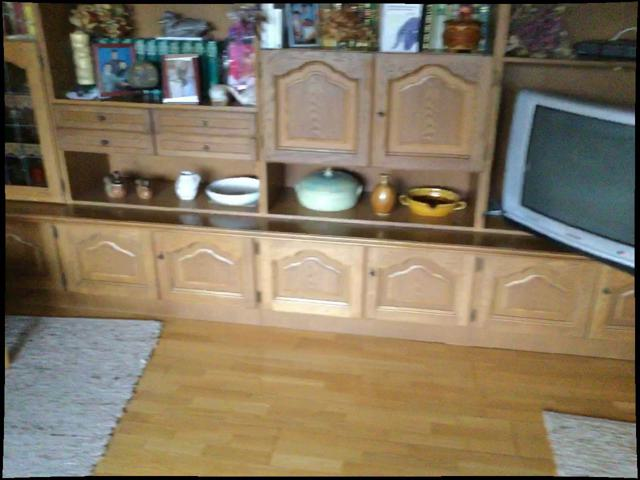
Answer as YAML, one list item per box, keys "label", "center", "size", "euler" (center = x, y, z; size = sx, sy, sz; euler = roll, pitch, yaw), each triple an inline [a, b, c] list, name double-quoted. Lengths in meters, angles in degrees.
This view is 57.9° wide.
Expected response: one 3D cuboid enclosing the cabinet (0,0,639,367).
- label: "cabinet"
  center: [-0.200, -0.721, 2.470]
  size: [3.986, 2.162, 0.760]
  euler: [4, 25, 4]
